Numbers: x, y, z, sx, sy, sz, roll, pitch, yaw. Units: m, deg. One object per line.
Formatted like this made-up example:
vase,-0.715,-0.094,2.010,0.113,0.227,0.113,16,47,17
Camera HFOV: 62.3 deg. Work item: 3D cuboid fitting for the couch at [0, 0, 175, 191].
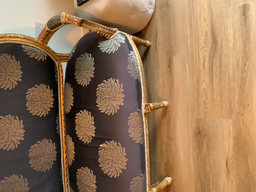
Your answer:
couch,-0.340,0.360,1.290,0.850,1.010,1.570,-1,91,39
